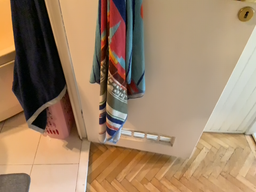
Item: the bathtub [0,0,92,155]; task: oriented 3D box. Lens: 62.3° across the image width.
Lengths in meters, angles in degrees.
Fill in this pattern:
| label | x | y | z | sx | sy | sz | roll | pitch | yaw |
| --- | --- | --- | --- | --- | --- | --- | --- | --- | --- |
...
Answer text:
| label | x | y | z | sx | sy | sz | roll | pitch | yaw |
| --- | --- | --- | --- | --- | --- | --- | --- | --- | --- |
| bathtub | -1.070 | -0.350 | 1.700 | 1.360 | 0.610 | 1.440 | 2 | 47 | -3 |
